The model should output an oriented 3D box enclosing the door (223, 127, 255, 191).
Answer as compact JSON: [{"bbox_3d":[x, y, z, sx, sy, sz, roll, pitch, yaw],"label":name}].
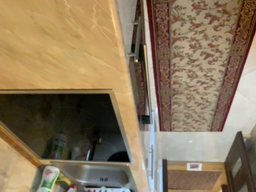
[{"bbox_3d":[1.250,1.390,2.070,0.110,1.920,0.980,-3,142,11],"label":"door"}]

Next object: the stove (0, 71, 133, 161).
[{"bbox_3d":[-0.300,0.140,0.890,0.560,0.030,0.630,-2,142,10],"label":"stove"}]
